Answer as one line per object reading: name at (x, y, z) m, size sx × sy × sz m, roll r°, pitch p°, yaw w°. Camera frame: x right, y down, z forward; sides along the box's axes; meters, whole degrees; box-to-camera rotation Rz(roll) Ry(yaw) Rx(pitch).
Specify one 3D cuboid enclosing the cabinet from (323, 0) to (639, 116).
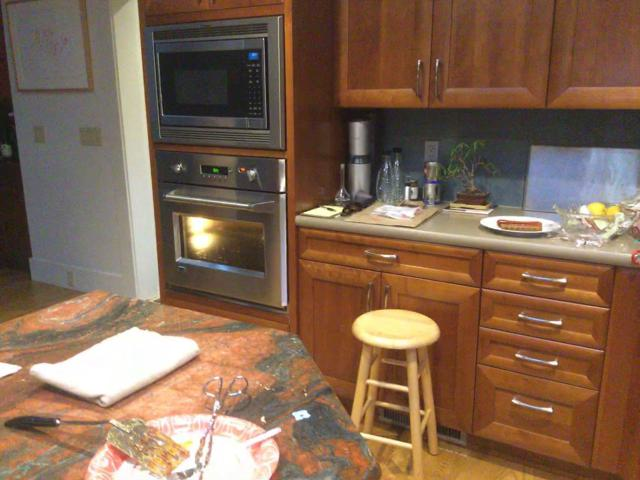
cabinet at (0.640, -0.990, 2.100) m, size 1.330 × 1.030 × 0.290 m, roll 7°, pitch 16°, yaw 34°

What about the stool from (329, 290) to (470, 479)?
stool at (0.310, 0.560, 2.170) m, size 0.330 × 0.590 × 0.470 m, roll 7°, pitch 16°, yaw 34°

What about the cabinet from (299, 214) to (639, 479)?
cabinet at (0.490, 0.400, 2.170) m, size 1.260 × 0.880 × 0.140 m, roll 7°, pitch 16°, yaw 34°
